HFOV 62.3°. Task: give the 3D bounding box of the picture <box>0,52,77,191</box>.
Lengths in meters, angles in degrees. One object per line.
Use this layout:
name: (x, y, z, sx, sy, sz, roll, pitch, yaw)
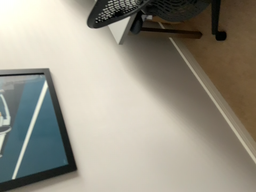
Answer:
picture: (-0.660, 0.090, 0.790, 0.680, 0.770, 0.030, 65, 144, 27)
